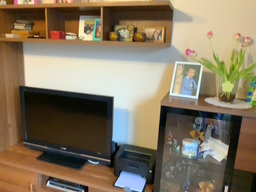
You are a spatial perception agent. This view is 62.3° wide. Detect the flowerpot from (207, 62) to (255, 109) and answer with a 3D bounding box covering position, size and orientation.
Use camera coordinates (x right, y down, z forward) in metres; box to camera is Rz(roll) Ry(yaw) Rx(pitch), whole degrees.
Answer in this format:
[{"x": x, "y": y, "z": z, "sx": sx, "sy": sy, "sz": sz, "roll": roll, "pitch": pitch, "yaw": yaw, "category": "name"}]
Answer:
[{"x": 0.720, "y": -0.090, "z": 1.500, "sx": 0.260, "sy": 0.270, "sz": 0.290, "roll": 8, "pitch": 14, "yaw": 20, "category": "flowerpot"}]
